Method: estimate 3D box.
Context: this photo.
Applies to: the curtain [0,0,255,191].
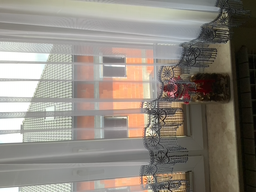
[{"bbox_3d":[-0.160,0.300,0.850,0.220,1.620,1.870,168,102,-76],"label":"curtain"}]
